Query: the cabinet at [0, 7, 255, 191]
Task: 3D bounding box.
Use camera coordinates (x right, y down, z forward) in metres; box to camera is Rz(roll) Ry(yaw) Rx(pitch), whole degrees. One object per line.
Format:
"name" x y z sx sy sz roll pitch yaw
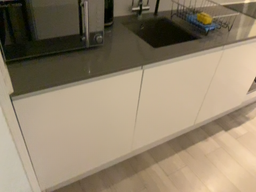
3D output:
"cabinet" 0.150 -0.060 1.620 1.780 0.890 0.610 -17 45 -27

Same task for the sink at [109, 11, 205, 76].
"sink" 0.190 -0.400 1.520 0.520 0.240 0.380 -17 45 -27
